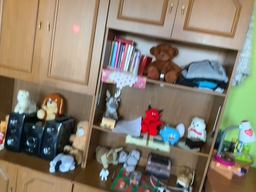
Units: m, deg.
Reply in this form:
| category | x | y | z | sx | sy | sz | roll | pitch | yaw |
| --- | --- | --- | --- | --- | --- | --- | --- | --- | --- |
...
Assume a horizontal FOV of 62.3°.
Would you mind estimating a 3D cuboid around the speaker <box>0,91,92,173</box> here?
| category | x | y | z | sx | sy | sz | roll | pitch | yaw |
| --- | --- | --- | --- | --- | --- | --- | --- | --- | --- |
| speaker | -0.720 | 0.270 | 1.800 | 0.680 | 0.450 | 0.360 | 12 | 10 | 9 |
